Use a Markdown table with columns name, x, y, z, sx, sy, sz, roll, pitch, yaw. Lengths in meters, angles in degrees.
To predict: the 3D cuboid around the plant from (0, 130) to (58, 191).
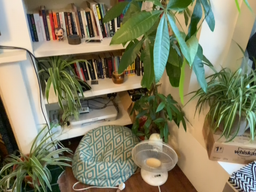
| name | x | y | z | sx | sy | sz | roll | pitch | yaw |
| --- | --- | --- | --- | --- | --- | --- | --- | --- | --- |
| plant | -0.750 | 0.550 | 1.530 | 0.390 | 0.440 | 0.290 | -10 | 34 | -17 |
